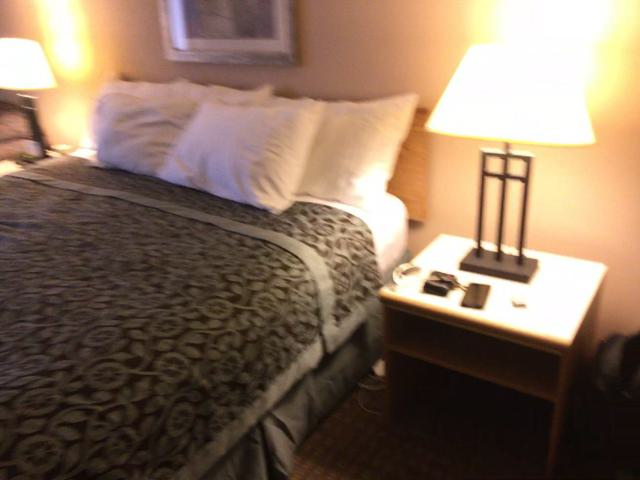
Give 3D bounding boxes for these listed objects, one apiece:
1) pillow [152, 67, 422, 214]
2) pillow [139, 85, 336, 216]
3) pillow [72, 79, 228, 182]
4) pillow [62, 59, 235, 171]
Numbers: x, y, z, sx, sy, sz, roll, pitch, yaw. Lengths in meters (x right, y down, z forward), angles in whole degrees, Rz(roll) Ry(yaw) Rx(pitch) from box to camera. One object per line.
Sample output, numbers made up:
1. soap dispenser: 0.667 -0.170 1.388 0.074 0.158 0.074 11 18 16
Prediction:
1. pillow: -0.170 -0.450 2.350 1.100 0.380 0.330 16 28 33
2. pillow: -0.320 -0.380 2.260 0.660 0.340 0.380 16 28 33
3. pillow: -0.760 -0.510 2.590 0.610 0.320 0.340 17 29 34
4. pillow: -0.830 -0.630 2.790 0.810 0.390 0.330 16 28 33
